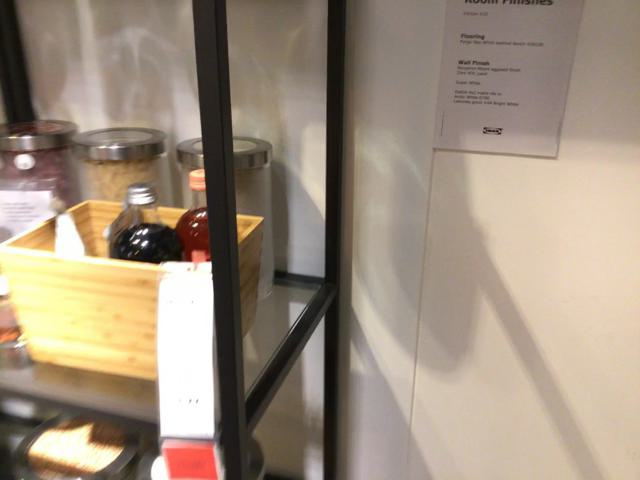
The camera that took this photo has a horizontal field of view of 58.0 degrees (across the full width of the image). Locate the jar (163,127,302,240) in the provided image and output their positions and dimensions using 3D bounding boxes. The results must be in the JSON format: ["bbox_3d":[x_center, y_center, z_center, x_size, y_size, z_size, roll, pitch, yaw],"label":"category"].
[{"bbox_3d":[-0.110,-0.080,0.770,0.140,0.110,0.120,6,23,15],"label":"jar"}]
